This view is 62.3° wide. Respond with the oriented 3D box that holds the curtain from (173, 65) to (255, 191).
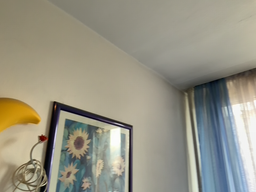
[{"bbox_3d":[0.730,0.680,1.500,0.730,1.810,0.070,-16,-28,34],"label":"curtain"}]
